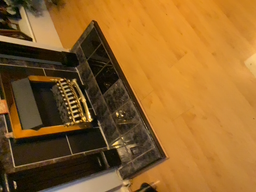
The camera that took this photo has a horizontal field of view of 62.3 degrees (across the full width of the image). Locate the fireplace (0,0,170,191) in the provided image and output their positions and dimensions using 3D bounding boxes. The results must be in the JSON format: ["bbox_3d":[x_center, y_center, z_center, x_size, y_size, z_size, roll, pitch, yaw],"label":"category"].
[{"bbox_3d":[-0.570,0.020,1.520,0.610,1.190,1.410,-42,63,33],"label":"fireplace"}]
